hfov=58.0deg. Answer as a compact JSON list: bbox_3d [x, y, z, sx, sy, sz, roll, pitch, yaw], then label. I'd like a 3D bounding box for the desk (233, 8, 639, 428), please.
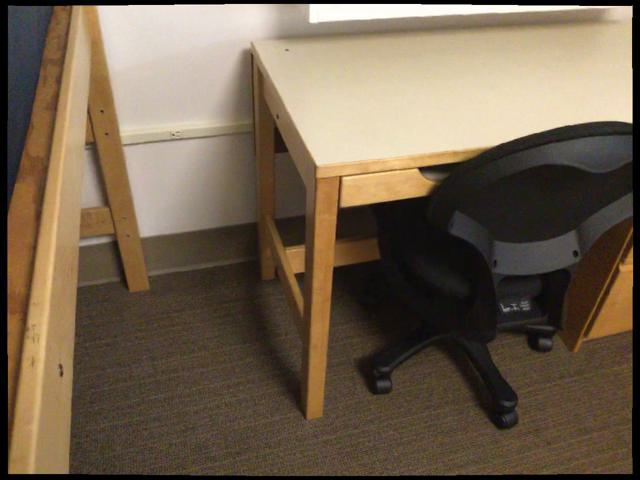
[{"bbox_3d":[0.469,-0.120,1.660,1.288,0.771,0.700,-9,41,-14],"label":"desk"}]

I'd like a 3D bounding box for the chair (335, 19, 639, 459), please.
[{"bbox_3d":[0.409,0.000,1.430,0.559,0.861,0.560,-8,41,-13],"label":"chair"}]
